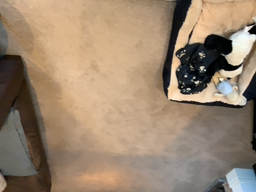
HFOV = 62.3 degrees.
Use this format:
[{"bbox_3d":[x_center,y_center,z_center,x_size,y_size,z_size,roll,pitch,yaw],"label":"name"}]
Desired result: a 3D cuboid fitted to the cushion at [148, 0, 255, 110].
[{"bbox_3d":[0.520,-0.310,1.210,0.630,0.220,0.930,2,137,-7],"label":"cushion"}]
